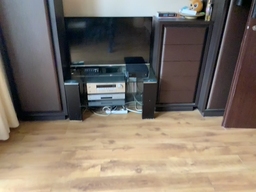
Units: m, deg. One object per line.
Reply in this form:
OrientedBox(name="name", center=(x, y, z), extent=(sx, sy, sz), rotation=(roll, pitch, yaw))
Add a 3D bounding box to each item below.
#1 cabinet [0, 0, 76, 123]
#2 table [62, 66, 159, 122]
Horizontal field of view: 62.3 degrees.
OrientedBox(name="cabinet", center=(-1.000, -0.710, 2.200), extent=(0.630, 1.980, 0.570), rotation=(-1, 28, -4))
OrientedBox(name="table", center=(-0.200, -0.050, 2.610), extent=(1.030, 0.460, 0.580), rotation=(-1, 28, -4))
